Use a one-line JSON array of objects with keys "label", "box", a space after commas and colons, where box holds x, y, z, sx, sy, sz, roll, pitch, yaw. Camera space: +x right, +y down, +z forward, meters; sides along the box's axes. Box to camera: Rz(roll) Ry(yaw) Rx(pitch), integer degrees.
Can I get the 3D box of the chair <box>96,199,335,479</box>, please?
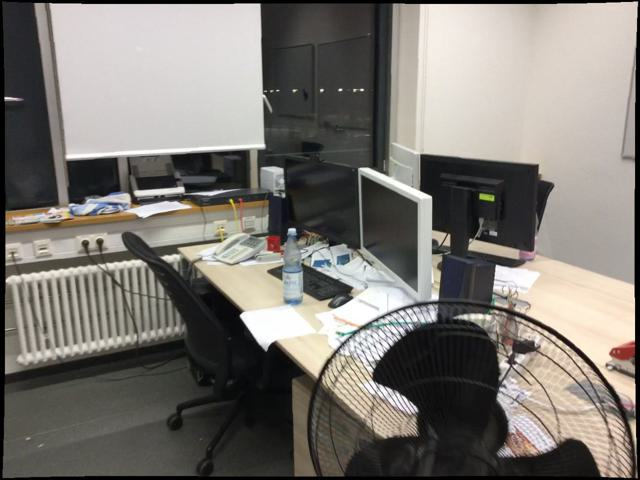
[{"label": "chair", "box": [-0.430, 0.390, 2.440, 0.720, 0.951, 0.650, -12, 20, -36]}]
